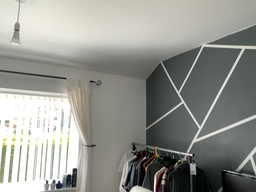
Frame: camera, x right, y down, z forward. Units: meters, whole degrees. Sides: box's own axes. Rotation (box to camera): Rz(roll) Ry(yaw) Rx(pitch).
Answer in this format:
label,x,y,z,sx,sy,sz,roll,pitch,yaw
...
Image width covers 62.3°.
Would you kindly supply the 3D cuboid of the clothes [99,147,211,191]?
label,x,y,z,sx,sy,sz,roll,pitch,yaw
clothes,0.200,1.170,2.180,0.620,1.140,1.070,6,-9,-31
